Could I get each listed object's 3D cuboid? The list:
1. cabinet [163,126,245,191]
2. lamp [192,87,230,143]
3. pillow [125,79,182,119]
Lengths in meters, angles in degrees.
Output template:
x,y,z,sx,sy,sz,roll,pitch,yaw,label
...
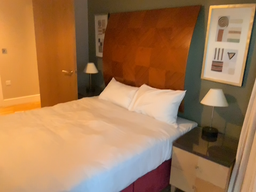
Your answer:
x,y,z,sx,sy,sz,roll,pitch,yaw,label
0.740,0.730,2.090,0.520,0.590,0.550,16,22,37,cabinet
0.820,0.180,2.100,0.230,0.470,0.200,16,22,37,lamp
0.260,0.050,2.390,0.650,0.340,0.130,-14,-7,44,pillow
